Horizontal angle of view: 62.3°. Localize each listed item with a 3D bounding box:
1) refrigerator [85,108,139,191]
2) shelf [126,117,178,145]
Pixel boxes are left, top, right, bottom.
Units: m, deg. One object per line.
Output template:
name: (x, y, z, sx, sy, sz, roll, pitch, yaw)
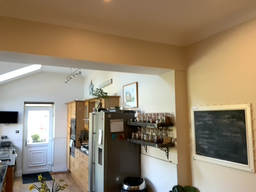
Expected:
refrigerator: (-0.330, 1.130, 3.940, 0.680, 1.790, 0.920, 2, -6, -27)
shelf: (0.330, 0.520, 3.360, 0.320, 0.360, 1.000, 2, -6, -26)
